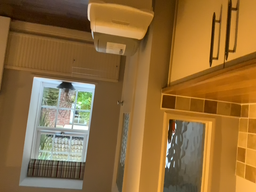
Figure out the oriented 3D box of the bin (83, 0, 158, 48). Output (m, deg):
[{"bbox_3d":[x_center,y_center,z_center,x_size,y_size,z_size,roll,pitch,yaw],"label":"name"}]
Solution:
[{"bbox_3d":[-0.040,-0.680,1.360,0.410,0.610,0.280,7,176,-12],"label":"bin"}]
